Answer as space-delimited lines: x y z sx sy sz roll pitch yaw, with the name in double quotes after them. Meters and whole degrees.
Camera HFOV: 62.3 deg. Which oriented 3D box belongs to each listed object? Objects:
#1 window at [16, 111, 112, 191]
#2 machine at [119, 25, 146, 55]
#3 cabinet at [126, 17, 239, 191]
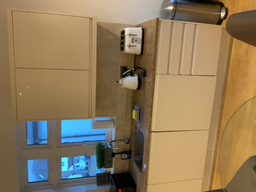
-0.800 0.710 2.780 0.050 1.160 1.030 -143 55 -70 "window"
0.040 -0.610 2.340 0.290 0.210 0.290 -144 56 -70 "machine"
0.550 0.350 2.580 0.640 0.900 2.320 -142 54 -70 "cabinet"
